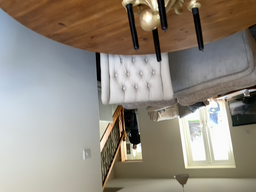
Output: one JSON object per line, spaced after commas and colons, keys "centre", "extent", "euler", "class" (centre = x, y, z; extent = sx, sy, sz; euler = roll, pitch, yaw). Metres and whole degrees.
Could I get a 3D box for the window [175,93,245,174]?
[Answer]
{"centre": [2.130, 1.010, 5.650], "extent": [1.420, 1.960, 0.450], "euler": [-9, 168, 22], "class": "window"}
